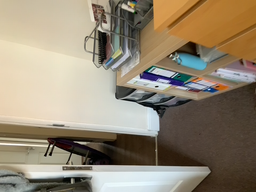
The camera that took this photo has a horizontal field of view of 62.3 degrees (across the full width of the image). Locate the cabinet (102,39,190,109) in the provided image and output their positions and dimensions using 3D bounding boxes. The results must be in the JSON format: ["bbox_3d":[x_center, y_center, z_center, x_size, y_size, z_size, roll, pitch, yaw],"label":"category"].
[{"bbox_3d":[0.150,-0.150,1.950,0.510,0.610,0.380,-26,58,56],"label":"cabinet"}]
